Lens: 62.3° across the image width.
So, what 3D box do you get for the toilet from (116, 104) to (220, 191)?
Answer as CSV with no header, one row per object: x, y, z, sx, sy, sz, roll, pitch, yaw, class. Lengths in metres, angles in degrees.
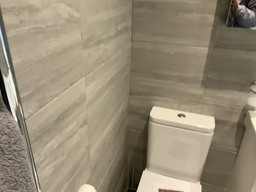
0.210,0.570,1.190,0.370,0.820,0.600,10,28,15,toilet
